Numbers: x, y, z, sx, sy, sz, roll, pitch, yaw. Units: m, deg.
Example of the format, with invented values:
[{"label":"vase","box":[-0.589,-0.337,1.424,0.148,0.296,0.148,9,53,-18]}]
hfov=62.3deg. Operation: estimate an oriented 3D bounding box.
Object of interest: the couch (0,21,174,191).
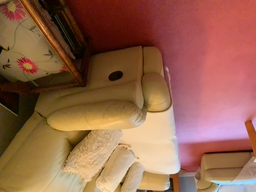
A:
[{"label":"couch","box":[-0.120,0.550,1.980,0.980,0.960,2.090,-7,147,10]}]

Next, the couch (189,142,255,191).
[{"label":"couch","box":[1.810,1.310,3.240,1.540,0.910,0.950,-9,147,13]}]
